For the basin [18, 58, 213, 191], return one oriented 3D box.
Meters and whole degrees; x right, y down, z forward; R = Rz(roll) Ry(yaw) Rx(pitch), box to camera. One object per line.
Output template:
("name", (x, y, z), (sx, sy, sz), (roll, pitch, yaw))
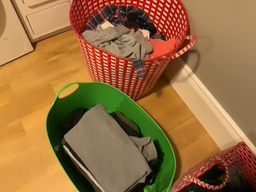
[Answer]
("basin", (-0.060, 0.190, 0.790), (0.400, 0.170, 0.570), (-33, 69, -19))
